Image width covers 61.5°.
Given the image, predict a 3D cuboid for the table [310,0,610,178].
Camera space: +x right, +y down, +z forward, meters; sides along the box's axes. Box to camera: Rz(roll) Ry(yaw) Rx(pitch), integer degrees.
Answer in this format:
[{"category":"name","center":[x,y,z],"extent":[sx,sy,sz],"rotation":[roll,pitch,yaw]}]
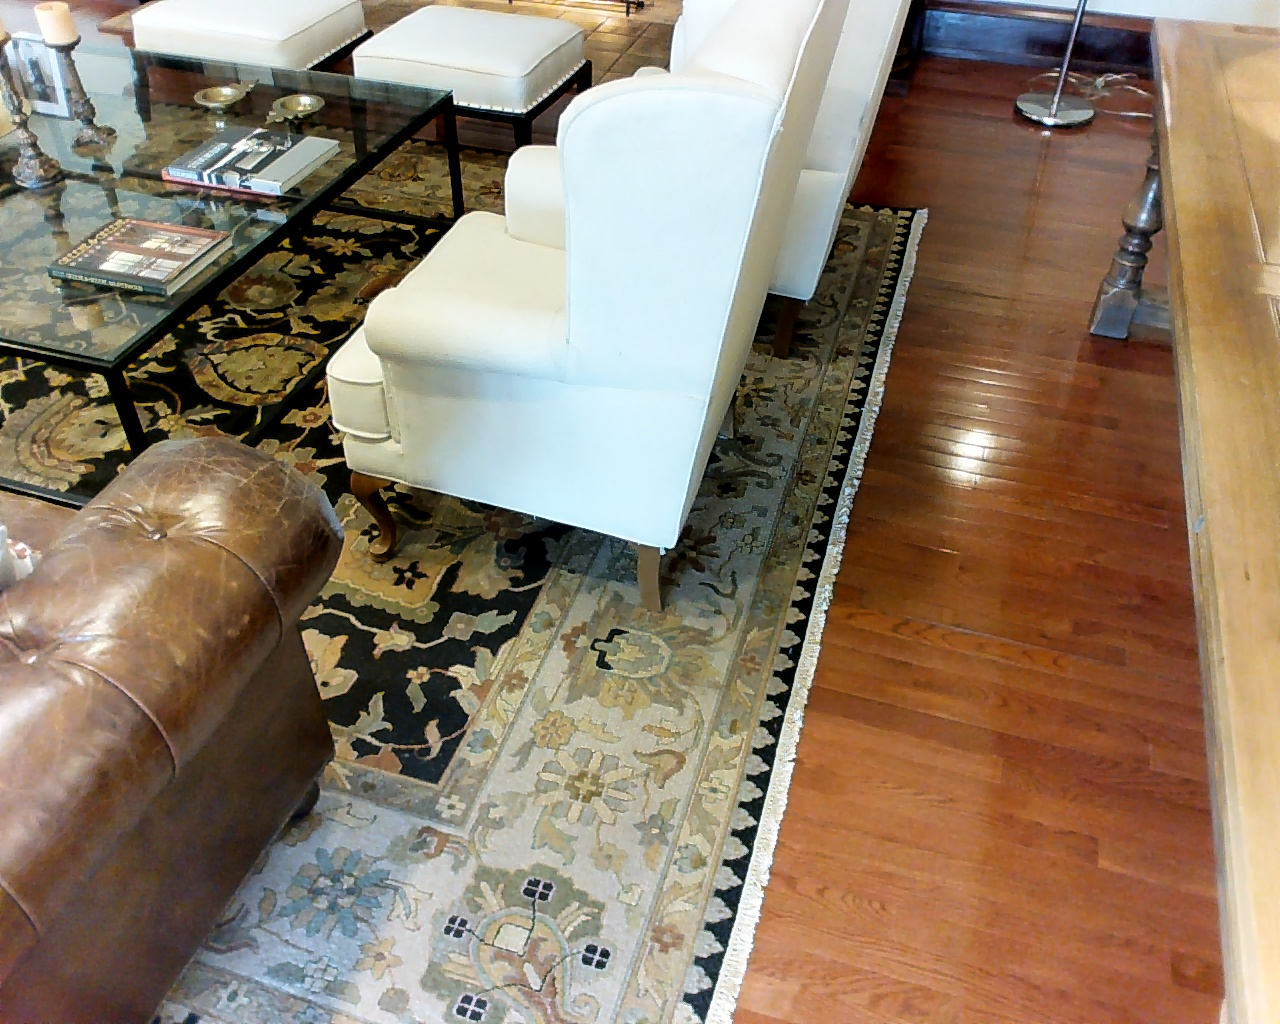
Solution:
[{"category":"table","center":[-0.590,-1.560,3.760],"extent":[0.800,0.430,0.640],"rotation":[12,43,13]}]

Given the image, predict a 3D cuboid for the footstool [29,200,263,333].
[{"category":"footstool","center":[-1.060,-0.540,2.330],"extent":[0.330,0.100,0.310],"rotation":[12,43,13]}]

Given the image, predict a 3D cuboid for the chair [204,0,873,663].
[{"category":"chair","center":[-0.090,-0.500,2.060],"extent":[0.830,1.170,0.840],"rotation":[12,43,13]}]

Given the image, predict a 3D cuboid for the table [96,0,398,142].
[{"category":"table","center":[-1.410,-1.740,3.970],"extent":[0.730,0.390,0.690],"rotation":[12,43,13]}]

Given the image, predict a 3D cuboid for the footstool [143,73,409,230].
[{"category":"footstool","center":[-0.920,-0.950,2.790],"extent":[0.410,0.140,0.550],"rotation":[12,43,13]}]
